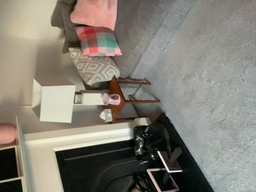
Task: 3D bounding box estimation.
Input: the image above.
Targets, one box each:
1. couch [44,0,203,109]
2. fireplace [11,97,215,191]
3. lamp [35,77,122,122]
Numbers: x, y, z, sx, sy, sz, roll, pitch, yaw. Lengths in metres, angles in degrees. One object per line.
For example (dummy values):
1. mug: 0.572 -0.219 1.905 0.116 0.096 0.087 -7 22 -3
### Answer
1. couch: 0.000 -1.100 1.860 2.450 0.790 1.130 -57 47 38
2. fireplace: -0.050 0.820 1.540 0.660 1.240 1.570 -56 48 38
3. lamp: -0.420 0.030 1.830 0.260 0.640 0.240 -57 47 38
